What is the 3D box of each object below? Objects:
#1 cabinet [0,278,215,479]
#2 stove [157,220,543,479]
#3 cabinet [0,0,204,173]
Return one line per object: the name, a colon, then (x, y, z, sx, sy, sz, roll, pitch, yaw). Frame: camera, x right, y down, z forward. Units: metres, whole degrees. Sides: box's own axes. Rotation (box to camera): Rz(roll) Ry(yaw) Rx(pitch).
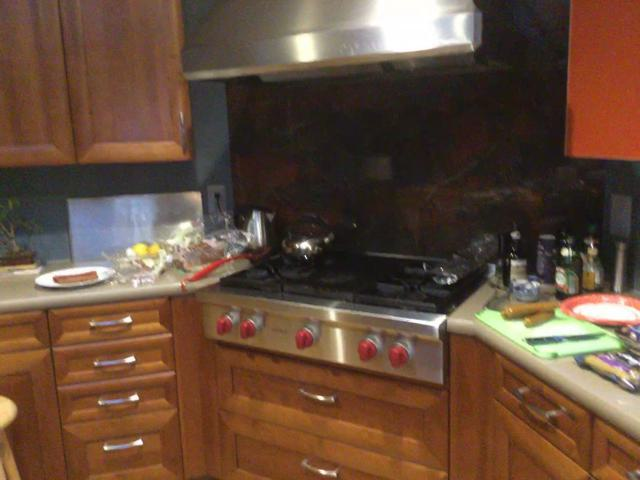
cabinet: (-1.030, 0.630, 2.030, 1.260, 0.880, 0.140, -4, 12, -14)
stove: (0.120, 0.520, 2.120, 1.130, 1.010, 0.740, 6, 13, 32)
cabinet: (-1.130, -0.770, 2.070, 1.330, 1.030, 0.290, -4, 12, -14)
